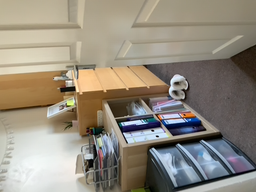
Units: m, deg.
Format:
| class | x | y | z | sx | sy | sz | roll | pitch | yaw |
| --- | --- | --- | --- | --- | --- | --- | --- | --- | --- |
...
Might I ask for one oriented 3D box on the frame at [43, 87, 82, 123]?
| class | x | y | z | sx | sy | sz | roll | pitch | yaw |
| --- | --- | --- | --- | --- | --- | --- | --- | --- | --- |
| frame | -0.760 | 0.090 | 2.440 | 0.350 | 0.370 | 0.150 | 42 | 154 | 60 |
